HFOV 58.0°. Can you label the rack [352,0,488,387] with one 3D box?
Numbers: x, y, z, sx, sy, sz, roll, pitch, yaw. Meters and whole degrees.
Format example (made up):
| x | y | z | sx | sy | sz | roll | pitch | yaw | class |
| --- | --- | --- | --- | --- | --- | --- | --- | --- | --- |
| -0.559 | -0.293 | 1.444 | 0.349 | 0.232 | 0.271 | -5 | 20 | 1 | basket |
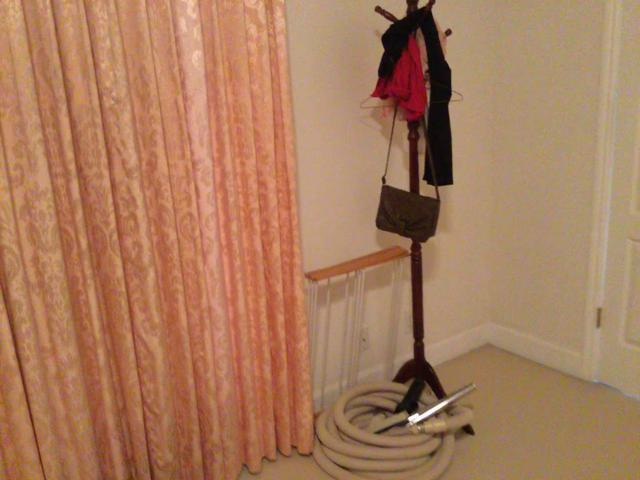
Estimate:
| x | y | z | sx | sy | sz | roll | pitch | yaw | class |
| --- | --- | --- | --- | --- | --- | --- | --- | --- | --- |
| 0.400 | -0.240 | 2.250 | 0.300 | 1.540 | 0.300 | -14 | 13 | -38 | rack |
